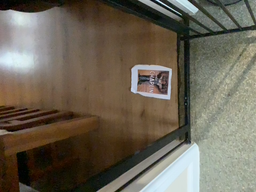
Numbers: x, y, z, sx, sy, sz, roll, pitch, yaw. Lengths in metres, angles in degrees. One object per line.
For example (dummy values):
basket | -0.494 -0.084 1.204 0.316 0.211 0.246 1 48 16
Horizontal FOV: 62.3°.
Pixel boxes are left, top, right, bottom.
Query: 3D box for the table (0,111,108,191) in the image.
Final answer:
table | -1.230 0.640 1.950 2.020 0.780 0.860 -4 93 35
